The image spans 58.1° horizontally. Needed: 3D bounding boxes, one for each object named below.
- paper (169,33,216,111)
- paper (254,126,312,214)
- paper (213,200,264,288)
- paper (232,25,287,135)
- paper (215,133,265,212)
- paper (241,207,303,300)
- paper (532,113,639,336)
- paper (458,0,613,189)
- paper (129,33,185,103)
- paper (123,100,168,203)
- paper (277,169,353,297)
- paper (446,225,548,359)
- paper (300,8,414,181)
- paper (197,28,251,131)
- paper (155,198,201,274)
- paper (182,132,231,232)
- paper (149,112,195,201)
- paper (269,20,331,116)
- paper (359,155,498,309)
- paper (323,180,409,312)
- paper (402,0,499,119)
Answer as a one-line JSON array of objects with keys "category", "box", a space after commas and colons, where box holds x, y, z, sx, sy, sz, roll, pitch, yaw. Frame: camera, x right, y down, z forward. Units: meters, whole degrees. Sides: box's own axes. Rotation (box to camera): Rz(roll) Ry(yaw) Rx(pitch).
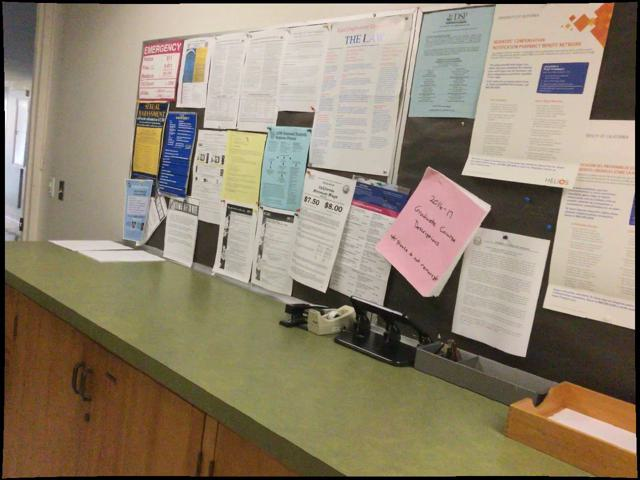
[{"category": "paper", "box": [-0.519, -0.672, 2.330, 0.230, 0.291, 0.050, 12, 9, 43]}, {"category": "paper", "box": [-0.130, -0.241, 1.960, 0.220, 0.281, 0.030, 12, 9, 43]}, {"category": "paper", "box": [-0.299, 0.010, 2.100, 0.210, 0.291, 0.040, 12, 9, 43]}, {"category": "paper", "box": [-0.219, -0.561, 2.050, 0.210, 0.361, 0.040, 12, 9, 43]}, {"category": "paper", "box": [-0.299, -0.251, 2.120, 0.210, 0.271, 0.040, 12, 9, 43]}, {"category": "paper", "box": [-0.170, 0.040, 1.970, 0.240, 0.281, 0.040, 12, 9, 43]}, {"category": "paper", "box": [0.628, -0.040, 1.230, 0.280, 0.451, 0.040, 12, 9, 43]}, {"category": "paper", "box": [0.499, -0.351, 1.370, 0.300, 0.431, 0.050, 12, 9, 43]}, {"category": "paper", "box": [-0.718, -0.742, 2.520, 0.350, 0.271, 0.050, 12, 9, 43]}, {"category": "paper", "box": [-0.788, -0.401, 2.590, 0.270, 0.441, 0.040, 12, 9, 43]}, {"category": "paper", "box": [-0.020, -0.030, 1.820, 0.230, 0.371, 0.060, 12, 9, 43]}, {"category": "paper", "box": [0.429, 0.120, 1.420, 0.210, 0.291, 0.040, 12, 9, 43]}, {"category": "paper", "box": [0.100, -0.431, 1.750, 0.350, 0.471, 0.050, 12, 9, 43]}, {"category": "paper", "box": [-0.369, -0.602, 2.190, 0.230, 0.361, 0.050, 12, 9, 43]}, {"category": "paper", "box": [-0.588, -0.020, 2.380, 0.230, 0.281, 0.050, 12, 9, 43]}, {"category": "paper", "box": [-0.449, -0.231, 2.260, 0.220, 0.371, 0.040, 12, 9, 43]}, {"category": "paper", "box": [-0.618, -0.351, 2.400, 0.230, 0.351, 0.050, 12, 9, 43]}, {"category": "paper", "box": [-0.070, -0.561, 1.910, 0.210, 0.291, 0.050, 12, 9, 43]}, {"category": "paper", "box": [0.279, -0.020, 1.560, 0.050, 0.330, 0.250, -2, 45, -47]}, {"category": "paper", "box": [0.130, 0.010, 1.700, 0.240, 0.351, 0.050, 12, 9, 43]}, {"category": "paper", "box": [0.339, -0.471, 1.530, 0.230, 0.291, 0.040, 12, 9, 43]}]
